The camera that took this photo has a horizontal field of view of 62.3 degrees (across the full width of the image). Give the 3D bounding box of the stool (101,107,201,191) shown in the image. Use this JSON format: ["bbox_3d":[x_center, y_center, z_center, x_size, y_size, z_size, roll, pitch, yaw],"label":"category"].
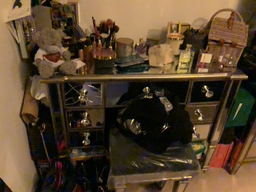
[{"bbox_3d":[0.080,0.400,1.280,0.450,0.500,0.420,-2,32,-9],"label":"stool"}]
